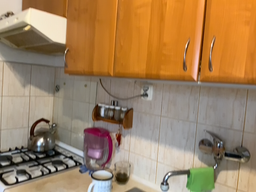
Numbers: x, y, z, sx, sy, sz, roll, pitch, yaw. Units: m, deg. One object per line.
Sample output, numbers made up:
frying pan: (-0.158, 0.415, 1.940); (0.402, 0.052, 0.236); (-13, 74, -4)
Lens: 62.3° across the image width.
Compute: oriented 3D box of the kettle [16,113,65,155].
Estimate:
kettle: (-0.700, 0.290, 1.700); (0.220, 0.250, 0.280); (7, 5, 38)
